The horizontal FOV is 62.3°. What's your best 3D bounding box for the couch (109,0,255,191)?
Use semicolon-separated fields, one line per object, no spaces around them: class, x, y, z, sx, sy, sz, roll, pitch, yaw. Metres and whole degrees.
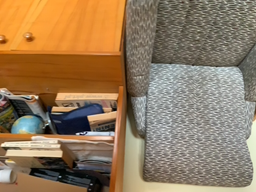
couch;0.320;-0.140;1.090;0.740;0.990;0.810;5;142;-2
